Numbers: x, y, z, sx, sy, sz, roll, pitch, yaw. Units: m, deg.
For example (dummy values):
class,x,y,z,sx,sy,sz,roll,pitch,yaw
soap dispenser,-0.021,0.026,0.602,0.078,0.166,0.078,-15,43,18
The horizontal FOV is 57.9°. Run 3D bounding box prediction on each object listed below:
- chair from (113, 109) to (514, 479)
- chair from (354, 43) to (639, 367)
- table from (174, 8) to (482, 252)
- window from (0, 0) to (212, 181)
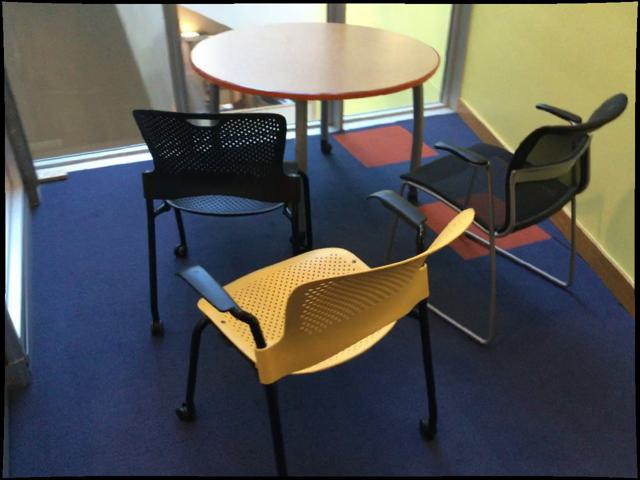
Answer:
class,x,y,z,sx,sy,sz,roll,pitch,yaw
chair,-0.020,0.200,1.440,0.620,0.761,0.580,30,44,35
chair,0.609,-0.170,2.010,0.680,0.741,0.680,-21,40,-28
table,-0.030,-0.581,2.690,1.099,0.670,1.120,-4,35,-6
window,-1.079,-0.831,2.840,0.969,0.901,0.260,-13,37,-18
